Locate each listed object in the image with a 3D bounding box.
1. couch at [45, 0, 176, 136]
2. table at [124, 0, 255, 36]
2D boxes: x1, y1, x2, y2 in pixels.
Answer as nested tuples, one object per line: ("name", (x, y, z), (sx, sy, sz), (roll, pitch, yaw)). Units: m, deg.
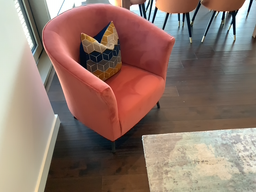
("couch", (-0.130, -0.270, 1.790), (0.730, 0.750, 0.620), (-28, 49, -26))
("table", (0.870, -1.400, 2.950), (1.810, 0.740, 0.720), (-4, 44, -4))
